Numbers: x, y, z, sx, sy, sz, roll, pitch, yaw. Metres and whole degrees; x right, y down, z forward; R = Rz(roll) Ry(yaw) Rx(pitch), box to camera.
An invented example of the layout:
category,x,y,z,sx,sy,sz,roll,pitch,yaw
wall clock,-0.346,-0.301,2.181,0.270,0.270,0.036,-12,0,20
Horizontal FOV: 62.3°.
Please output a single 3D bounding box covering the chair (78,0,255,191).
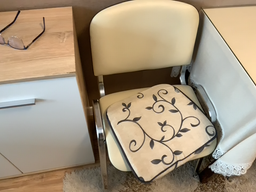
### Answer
category,x,y,z,sx,sy,sz,roll,pitch,yaw
chair,0.080,0.060,1.030,0.500,0.810,0.570,-7,55,-9
